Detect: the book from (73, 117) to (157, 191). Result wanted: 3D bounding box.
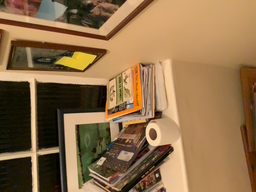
[{"bbox_3d":[-0.060,0.360,0.900,0.280,0.220,0.500,-19,75,54],"label":"book"}]
